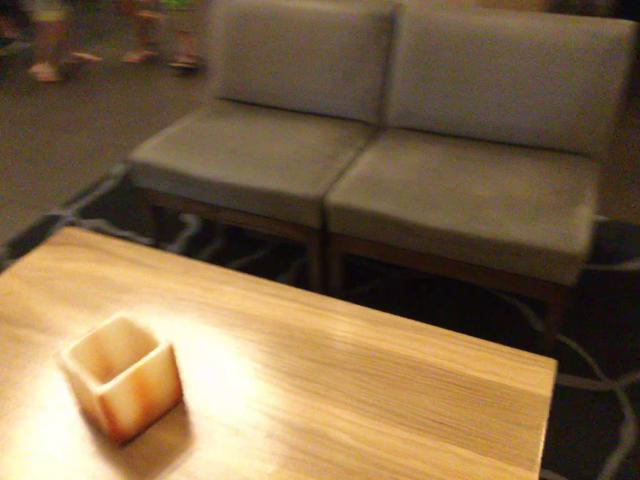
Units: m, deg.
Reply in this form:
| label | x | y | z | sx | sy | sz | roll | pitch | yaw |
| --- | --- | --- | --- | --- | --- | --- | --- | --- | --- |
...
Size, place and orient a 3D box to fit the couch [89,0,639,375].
| label | x | y | z | sx | sy | sz | roll | pitch | yaw |
| --- | --- | --- | --- | --- | --- | --- | --- | --- | --- |
| couch | 0.160 | -0.320 | 1.930 | 1.480 | 0.840 | 0.730 | 14 | 37 | 20 |

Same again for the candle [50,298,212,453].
| label | x | y | z | sx | sy | sz | roll | pitch | yaw |
| --- | --- | --- | --- | --- | --- | --- | --- | --- | --- |
| candle | -0.320 | 0.230 | 1.010 | 0.180 | 0.140 | 0.170 | 14 | 37 | 21 |
